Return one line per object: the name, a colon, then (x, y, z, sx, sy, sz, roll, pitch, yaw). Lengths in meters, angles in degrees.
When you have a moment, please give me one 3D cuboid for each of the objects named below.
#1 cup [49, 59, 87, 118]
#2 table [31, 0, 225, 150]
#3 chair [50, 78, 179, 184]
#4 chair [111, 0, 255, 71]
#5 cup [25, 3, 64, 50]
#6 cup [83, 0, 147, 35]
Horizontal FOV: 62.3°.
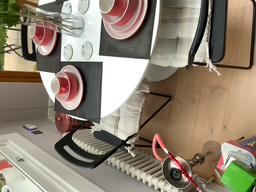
cup: (-0.340, -0.050, 1.190, 0.220, 0.090, 0.300, 8, 98, 39)
table: (-0.030, -0.400, 1.450, 1.010, 0.750, 1.070, 14, 102, 38)
chair: (-0.070, 0.160, 1.530, 0.500, 0.740, 0.480, 18, 104, 37)
chair: (0.350, -0.390, 1.140, 0.490, 0.740, 0.480, 6, 97, 39)
cup: (-0.530, -0.420, 1.330, 0.270, 0.110, 0.240, 9, 99, 39)
cup: (-0.060, -0.400, 0.920, 0.250, 0.130, 0.230, 11, 100, 39)
